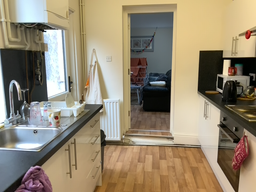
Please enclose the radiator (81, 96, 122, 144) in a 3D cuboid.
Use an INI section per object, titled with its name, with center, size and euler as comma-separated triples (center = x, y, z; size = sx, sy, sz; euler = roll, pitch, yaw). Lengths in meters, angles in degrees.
[radiator]
center = -0.420, 0.390, 3.440
size = 0.590, 0.760, 0.170
euler = -1, 10, 6
